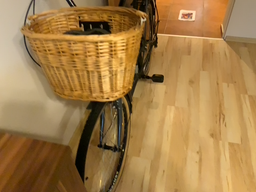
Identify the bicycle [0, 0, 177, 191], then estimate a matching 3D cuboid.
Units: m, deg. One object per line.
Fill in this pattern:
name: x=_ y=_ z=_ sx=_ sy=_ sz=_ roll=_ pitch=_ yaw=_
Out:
bicycle: x=0.040 y=-0.290 z=1.390 sx=0.420 sy=1.120 sz=1.740 roll=8 pitch=46 yaw=11
